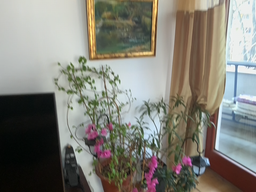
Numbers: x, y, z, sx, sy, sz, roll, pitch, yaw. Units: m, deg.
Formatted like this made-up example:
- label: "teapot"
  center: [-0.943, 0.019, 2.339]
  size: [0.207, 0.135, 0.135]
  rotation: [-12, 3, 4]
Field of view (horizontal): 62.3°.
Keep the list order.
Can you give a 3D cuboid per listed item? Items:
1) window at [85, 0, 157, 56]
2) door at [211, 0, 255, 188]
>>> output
- label: "window"
  center: [-0.030, -0.580, 1.680]
  size: [0.600, 0.480, 0.050]
  rotation: [-9, 18, -28]
- label: "door"
  center: [1.430, -0.130, 1.990]
  size: [0.210, 2.270, 1.160]
  rotation: [-9, 18, -28]
